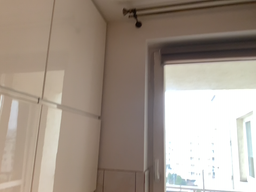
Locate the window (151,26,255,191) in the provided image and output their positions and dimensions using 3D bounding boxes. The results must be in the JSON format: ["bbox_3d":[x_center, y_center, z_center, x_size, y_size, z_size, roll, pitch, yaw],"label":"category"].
[{"bbox_3d":[0.540,0.380,1.340,0.750,1.600,0.230,-2,-12,15],"label":"window"}]
